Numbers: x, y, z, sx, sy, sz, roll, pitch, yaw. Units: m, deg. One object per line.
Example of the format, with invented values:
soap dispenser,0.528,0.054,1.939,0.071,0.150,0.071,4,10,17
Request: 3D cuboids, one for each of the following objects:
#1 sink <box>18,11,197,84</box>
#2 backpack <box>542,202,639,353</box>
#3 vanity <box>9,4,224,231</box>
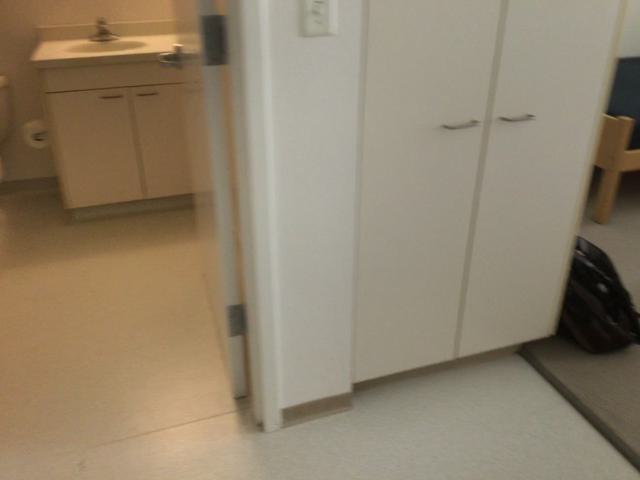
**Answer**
sink,-1.060,-0.990,2.920,0.760,0.200,0.510,-13,29,-16
backpack,1.000,0.150,2.080,0.210,0.460,0.350,-17,-15,11
vanity,-1.040,-0.680,3.100,0.820,0.980,0.540,-13,29,-16
